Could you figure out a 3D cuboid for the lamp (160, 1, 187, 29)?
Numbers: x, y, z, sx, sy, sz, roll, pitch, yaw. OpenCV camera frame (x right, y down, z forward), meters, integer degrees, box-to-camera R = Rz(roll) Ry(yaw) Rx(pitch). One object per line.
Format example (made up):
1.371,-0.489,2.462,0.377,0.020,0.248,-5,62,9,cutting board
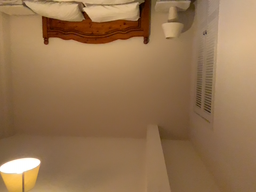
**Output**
0.590,-1.050,2.780,0.300,0.280,0.280,1,-174,5,lamp

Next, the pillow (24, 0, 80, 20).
-0.980,-1.160,2.800,0.570,0.200,0.430,1,-174,6,pillow

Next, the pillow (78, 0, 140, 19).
-0.220,-1.140,2.710,0.740,0.200,0.420,1,-174,2,pillow
